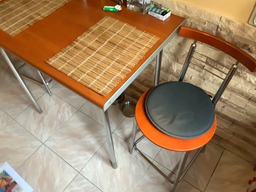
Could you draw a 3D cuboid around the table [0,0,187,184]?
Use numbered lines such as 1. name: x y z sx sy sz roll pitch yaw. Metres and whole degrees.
1. table: -0.270 -0.110 1.320 0.910 0.850 0.610 30 58 22
